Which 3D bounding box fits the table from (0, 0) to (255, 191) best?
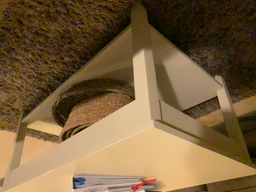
[{"bbox_3d":[-0.090,0.190,1.030,0.670,0.460,1.010,26,137,-37],"label":"table"}]
